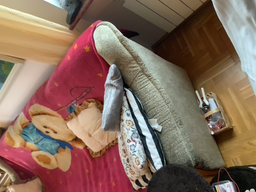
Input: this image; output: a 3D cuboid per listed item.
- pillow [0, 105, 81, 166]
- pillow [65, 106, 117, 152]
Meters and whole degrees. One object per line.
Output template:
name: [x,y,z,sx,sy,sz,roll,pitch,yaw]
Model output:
pillow: [-0.750,0.390,1.920,0.630,0.600,0.170,106,176,-52]
pillow: [-0.260,0.260,1.610,0.370,0.340,0.100,92,-167,-50]
